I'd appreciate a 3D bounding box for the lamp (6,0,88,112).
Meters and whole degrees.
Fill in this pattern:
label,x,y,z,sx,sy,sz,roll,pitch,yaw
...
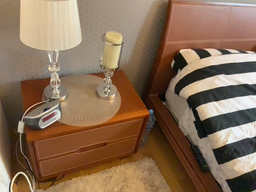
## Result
label,x,y,z,sx,sy,sz,roll,pitch,yaw
lamp,-0.370,-0.220,0.990,0.270,0.500,0.270,-11,47,-25
